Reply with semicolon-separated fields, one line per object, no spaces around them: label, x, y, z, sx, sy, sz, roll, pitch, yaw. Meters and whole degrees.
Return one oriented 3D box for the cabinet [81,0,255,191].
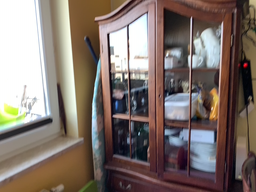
cabinet;0.260;0.290;1.430;0.980;1.770;0.430;4;12;28
